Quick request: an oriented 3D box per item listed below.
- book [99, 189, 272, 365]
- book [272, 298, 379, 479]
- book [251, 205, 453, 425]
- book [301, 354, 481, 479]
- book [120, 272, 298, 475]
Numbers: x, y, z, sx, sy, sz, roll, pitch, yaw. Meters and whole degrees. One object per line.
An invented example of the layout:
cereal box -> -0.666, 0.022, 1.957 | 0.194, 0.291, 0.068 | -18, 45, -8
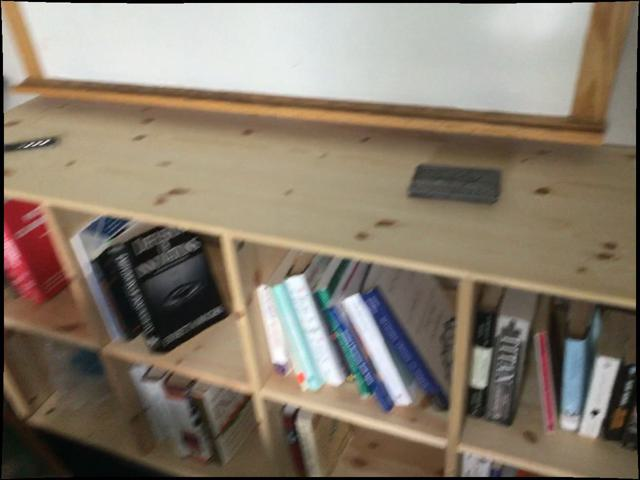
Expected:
book -> -0.259, 0.060, 1.210 | 0.160, 0.140, 0.370 | 10, 40, 19
book -> 0.030, 0.351, 1.290 | 0.100, 0.240, 0.370 | 10, 40, 19
book -> 0.070, 0.120, 1.030 | 0.269, 0.220, 0.260 | 10, 40, 19
book -> 0.170, 0.441, 1.280 | 0.309, 0.080, 0.340 | 10, 40, 19
book -> -0.239, 0.301, 1.380 | 0.230, 0.230, 0.370 | 10, 40, 19
